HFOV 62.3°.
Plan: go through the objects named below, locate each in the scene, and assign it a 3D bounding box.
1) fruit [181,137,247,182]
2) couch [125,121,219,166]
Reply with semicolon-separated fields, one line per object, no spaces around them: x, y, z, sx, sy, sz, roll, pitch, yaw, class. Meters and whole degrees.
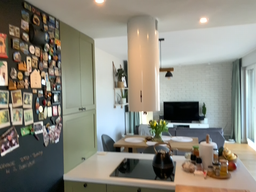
0.810;0.590;2.090;0.530;0.250;0.500;-1;2;16;fruit
1.070;1.110;5.350;2.110;0.800;1.020;-1;2;14;couch
